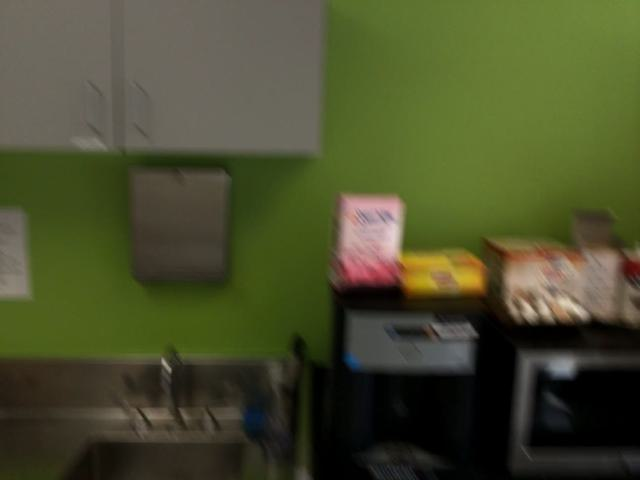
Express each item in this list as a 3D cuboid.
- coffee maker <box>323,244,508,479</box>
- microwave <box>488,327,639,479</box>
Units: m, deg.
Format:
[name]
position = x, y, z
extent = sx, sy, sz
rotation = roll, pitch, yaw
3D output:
[coffee maker]
position = 0.200, 0.290, 1.440
extent = 0.370, 0.500, 0.410
rotation = 1, 9, -1
[microwave]
position = 0.730, 0.390, 1.350
extent = 0.630, 0.350, 0.100
rotation = 1, 9, -1
